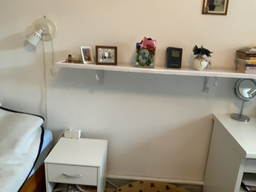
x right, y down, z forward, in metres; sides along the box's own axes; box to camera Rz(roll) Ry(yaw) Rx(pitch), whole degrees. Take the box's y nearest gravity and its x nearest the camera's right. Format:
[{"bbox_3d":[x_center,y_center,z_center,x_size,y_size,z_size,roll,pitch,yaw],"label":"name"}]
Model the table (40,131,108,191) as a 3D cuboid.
[{"bbox_3d":[-0.410,0.630,1.750,0.420,0.510,0.420,4,16,1],"label":"table"}]
